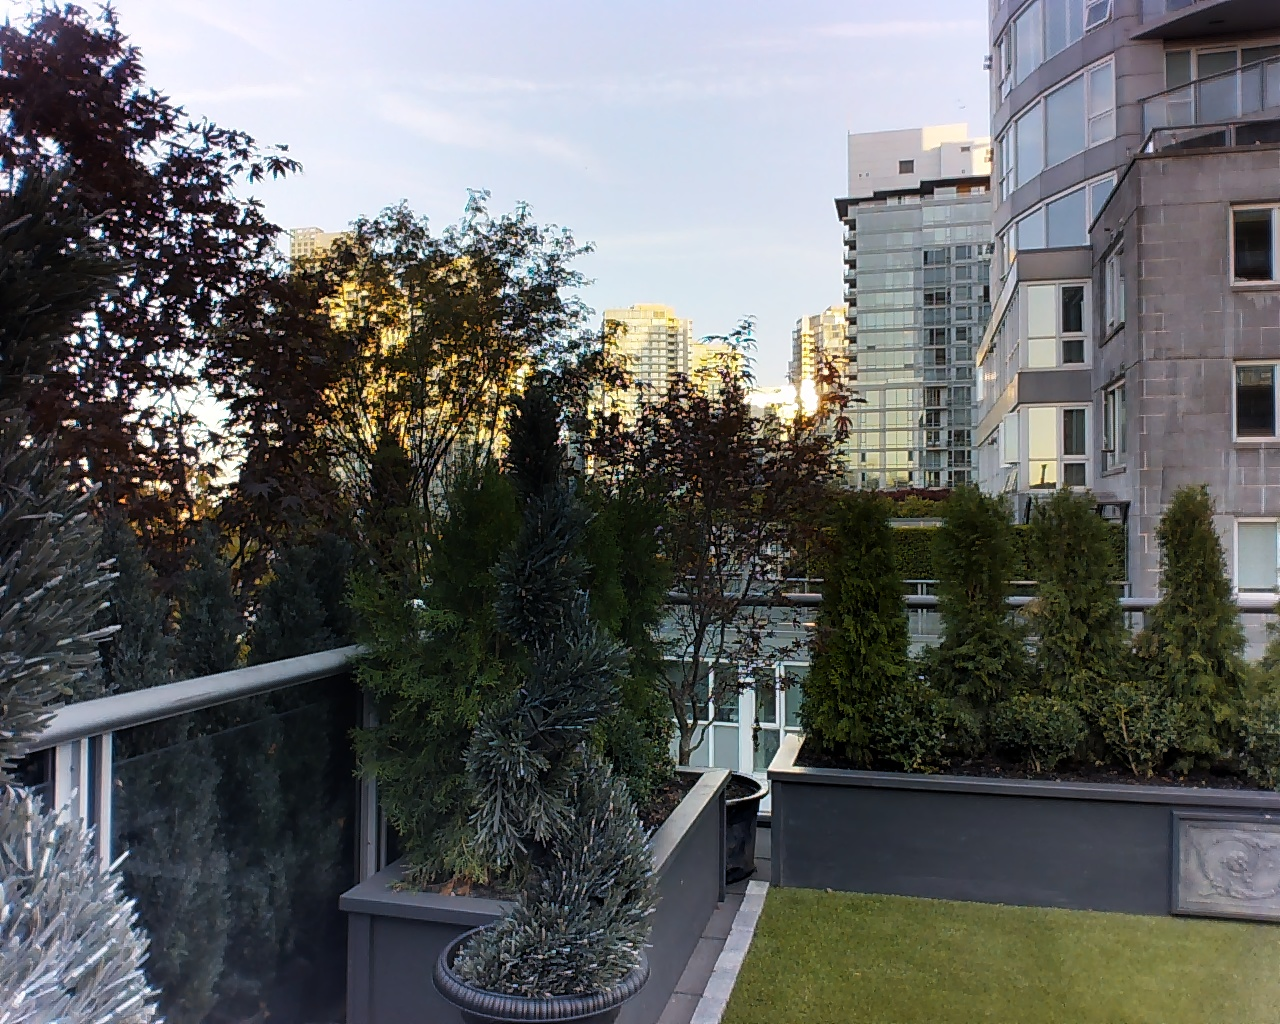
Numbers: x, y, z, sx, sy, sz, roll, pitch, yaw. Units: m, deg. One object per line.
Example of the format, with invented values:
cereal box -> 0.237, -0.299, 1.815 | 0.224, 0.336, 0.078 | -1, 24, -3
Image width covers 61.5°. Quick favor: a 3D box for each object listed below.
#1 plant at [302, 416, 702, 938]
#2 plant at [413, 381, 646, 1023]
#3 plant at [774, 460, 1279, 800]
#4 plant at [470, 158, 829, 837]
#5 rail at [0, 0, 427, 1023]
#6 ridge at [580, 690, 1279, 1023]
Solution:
plant -> -0.320, 0.410, 3.510 | 0.710, 1.270, 1.650 | 0, -1, 15
plant -> -0.210, 0.370, 2.260 | 0.430, 1.230, 0.440 | 0, -1, 2
plant -> 2.409, 0.410, 3.940 | 3.769, 1.180, 0.490 | 0, -1, 15
plant -> 0.010, -0.050, 4.390 | 1.230, 2.381, 0.850 | 0, -1, -22
rail -> -1.210, 0.090, 1.480 | 0.280, 2.671, 3.450 | 0, -1, 15
ridge -> 2.250, 1.150, 3.540 | 4.419, 0.630, 2.180 | 0, -1, 15
